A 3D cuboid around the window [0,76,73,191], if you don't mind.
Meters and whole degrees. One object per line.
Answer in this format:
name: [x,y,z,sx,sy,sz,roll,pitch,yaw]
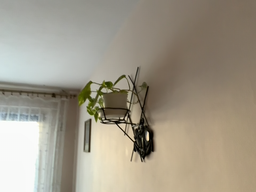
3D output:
window: [-1.680,0.740,2.560,1.850,2.010,0.220,5,-14,-22]
